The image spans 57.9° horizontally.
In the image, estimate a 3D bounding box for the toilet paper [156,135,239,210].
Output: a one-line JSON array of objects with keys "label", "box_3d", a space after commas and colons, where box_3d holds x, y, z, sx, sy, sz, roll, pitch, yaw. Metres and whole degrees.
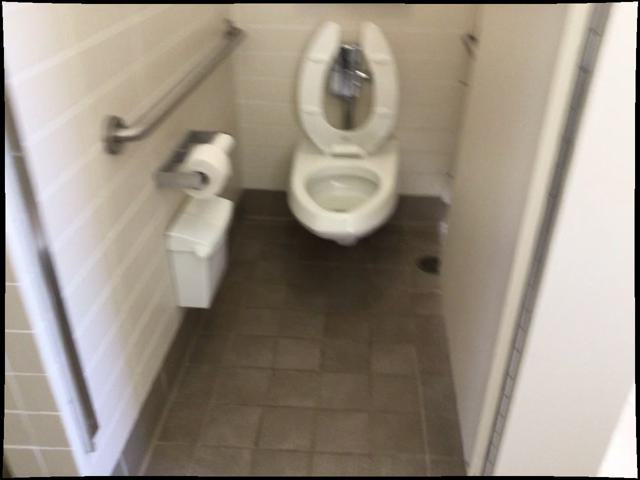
[{"label": "toilet paper", "box_3d": [-0.330, -0.190, 1.590, 0.160, 0.130, 0.190, 3, 33, 6]}]
